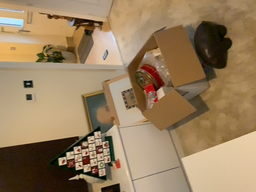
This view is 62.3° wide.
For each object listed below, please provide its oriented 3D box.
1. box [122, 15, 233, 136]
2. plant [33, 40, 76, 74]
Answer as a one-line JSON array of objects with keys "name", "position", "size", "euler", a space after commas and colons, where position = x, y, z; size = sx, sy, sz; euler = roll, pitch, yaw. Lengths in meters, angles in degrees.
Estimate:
[{"name": "box", "position": [0.320, -0.120, 1.740], "size": [0.730, 0.300, 0.670], "euler": [-44, 56, 52]}, {"name": "plant", "position": [-1.470, -0.750, 4.220], "size": [0.430, 0.710, 0.590], "euler": [5, 97, 59]}]
